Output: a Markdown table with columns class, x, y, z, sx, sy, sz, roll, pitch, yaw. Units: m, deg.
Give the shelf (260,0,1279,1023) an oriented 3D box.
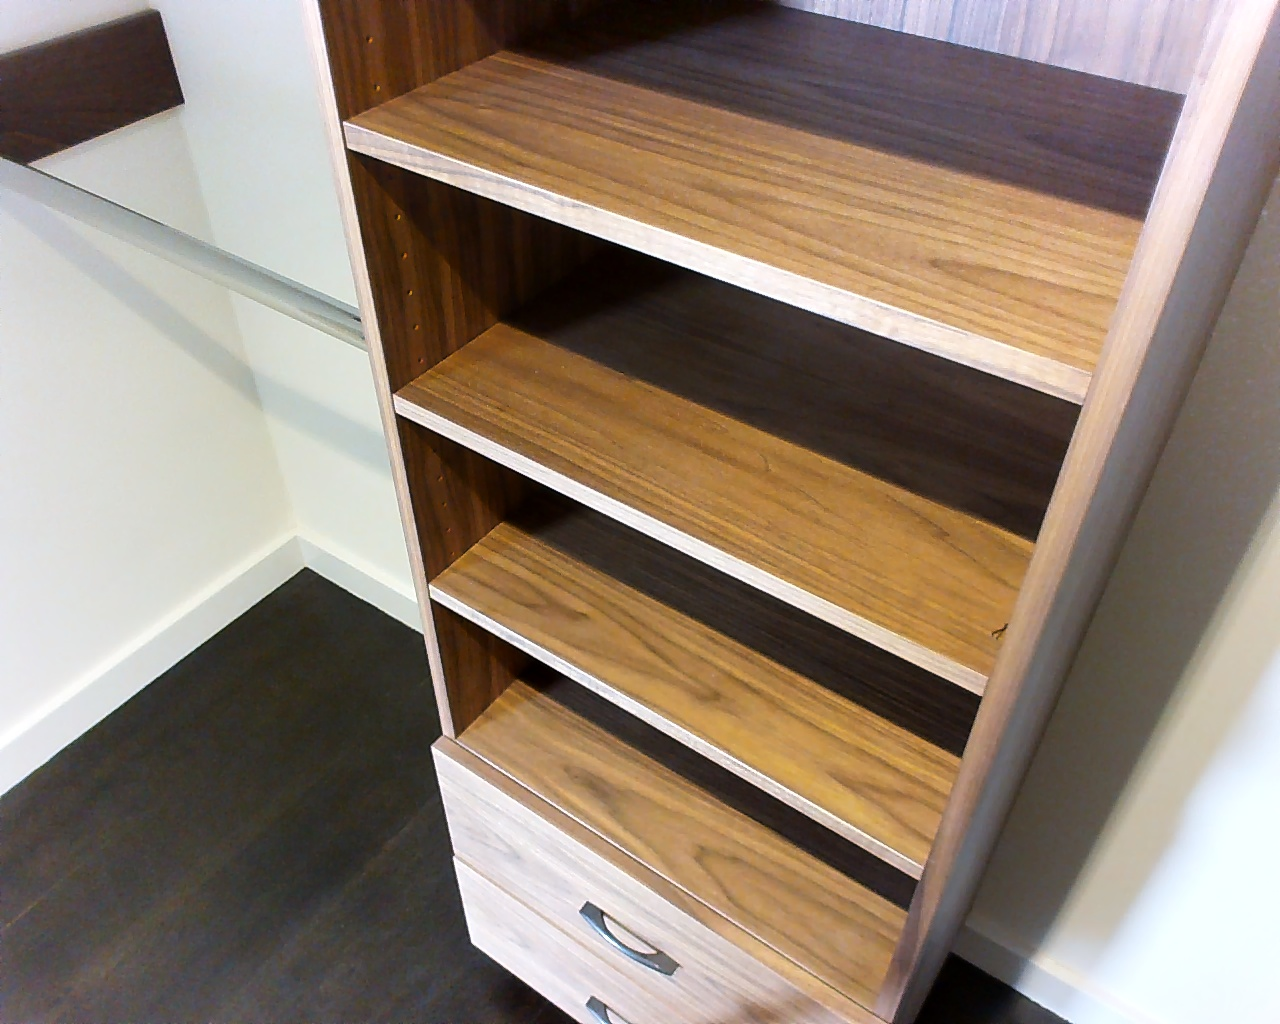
| class | x | y | z | sx | sy | sz | roll | pitch | yaw |
| --- | --- | --- | --- | --- | --- | --- | --- | --- | --- |
| shelf | 0.130 | -0.110 | 0.910 | 0.540 | 2.030 | 0.490 | 25 | 48 | 26 |
